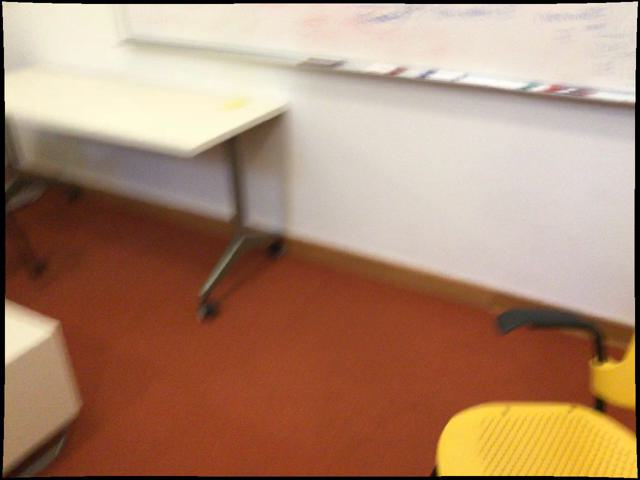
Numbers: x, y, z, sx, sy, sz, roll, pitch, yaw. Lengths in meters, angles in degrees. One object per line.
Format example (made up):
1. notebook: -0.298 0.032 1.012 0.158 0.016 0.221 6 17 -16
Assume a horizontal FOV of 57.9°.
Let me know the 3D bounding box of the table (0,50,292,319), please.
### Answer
1. table: -0.979 -0.340 2.610 1.589 0.711 0.650 15 33 23
